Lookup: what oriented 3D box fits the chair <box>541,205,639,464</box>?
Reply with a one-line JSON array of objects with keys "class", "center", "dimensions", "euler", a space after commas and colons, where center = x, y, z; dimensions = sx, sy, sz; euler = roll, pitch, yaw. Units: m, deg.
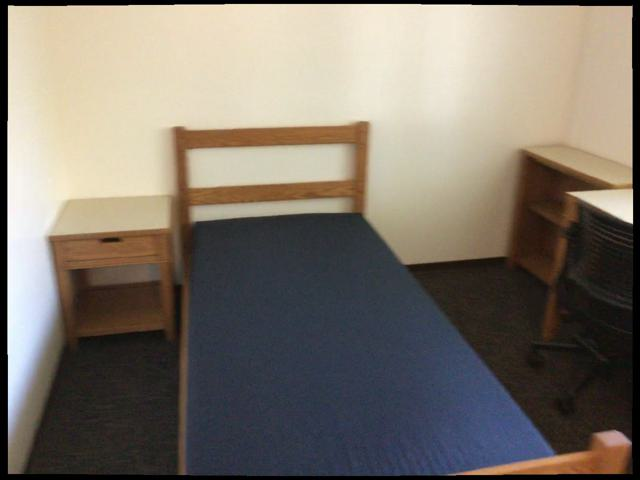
[{"class": "chair", "center": [1.298, 0.351, 2.260], "dimensions": [0.539, 0.891, 0.400], "euler": [-3, 23, -12]}]

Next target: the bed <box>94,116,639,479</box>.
[{"class": "bed", "center": [-0.030, 0.230, 2.160], "dimensions": [1.118, 0.942, 2.250], "euler": [-3, 23, -11]}]

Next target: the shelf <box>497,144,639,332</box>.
[{"class": "shelf", "center": [1.377, -0.050, 3.150], "dimensions": [0.349, 0.761, 0.800], "euler": [-3, 23, -12]}]
